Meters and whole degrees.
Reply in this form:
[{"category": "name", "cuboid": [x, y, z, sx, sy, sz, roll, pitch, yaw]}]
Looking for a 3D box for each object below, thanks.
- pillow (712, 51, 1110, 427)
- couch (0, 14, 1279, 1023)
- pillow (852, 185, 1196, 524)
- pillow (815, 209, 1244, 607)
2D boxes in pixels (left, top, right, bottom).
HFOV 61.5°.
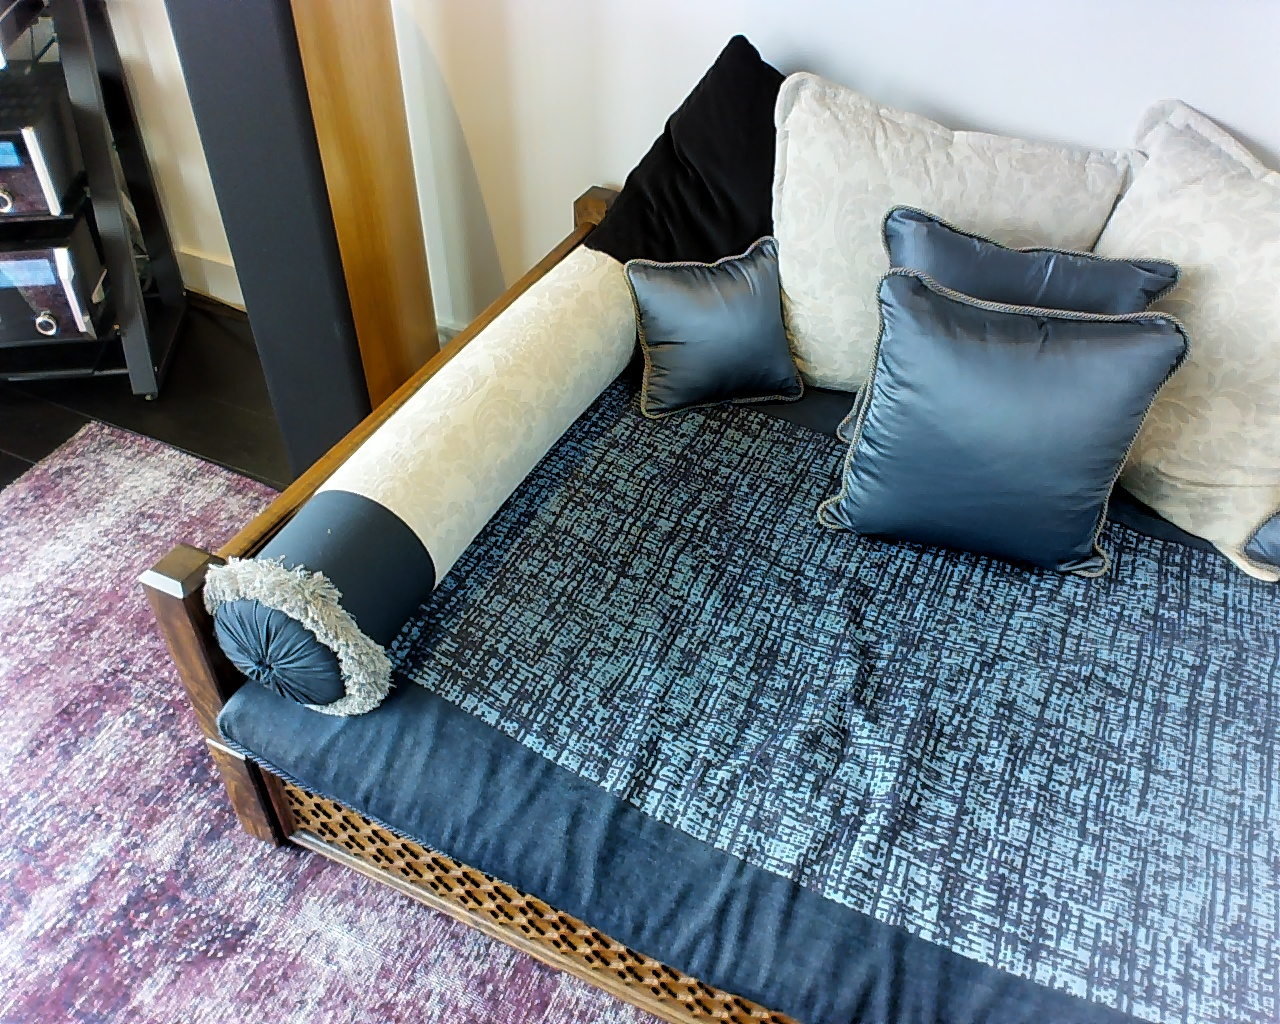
[{"category": "pillow", "cuboid": [0.460, -0.420, 1.800, 0.530, 0.510, 0.140, -4, 35, 31]}, {"category": "couch", "cuboid": [0.460, 0.090, 1.550, 1.860, 0.900, 1.320, 19, 45, 19]}, {"category": "pillow", "cuboid": [0.590, -0.230, 1.670, 0.420, 0.390, 0.180, -13, 31, 21]}, {"category": "pillow", "cuboid": [0.550, -0.140, 1.570, 0.470, 0.380, 0.240, -19, 27, 21]}]
